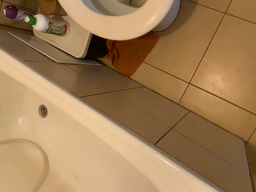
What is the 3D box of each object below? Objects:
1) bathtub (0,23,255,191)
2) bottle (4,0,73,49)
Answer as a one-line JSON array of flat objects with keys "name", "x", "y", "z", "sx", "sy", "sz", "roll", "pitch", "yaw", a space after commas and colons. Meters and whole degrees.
[{"name": "bathtub", "x": -0.230, "y": 0.230, "z": 0.940, "sx": 1.160, "sy": 0.550, "sz": 0.680, "roll": 30, "pitch": 108, "yaw": 19}, {"name": "bottle", "x": -0.380, "y": -0.310, "z": 0.910, "sx": 0.210, "sy": 0.150, "sz": 0.120, "roll": 32, "pitch": 108, "yaw": 19}]
